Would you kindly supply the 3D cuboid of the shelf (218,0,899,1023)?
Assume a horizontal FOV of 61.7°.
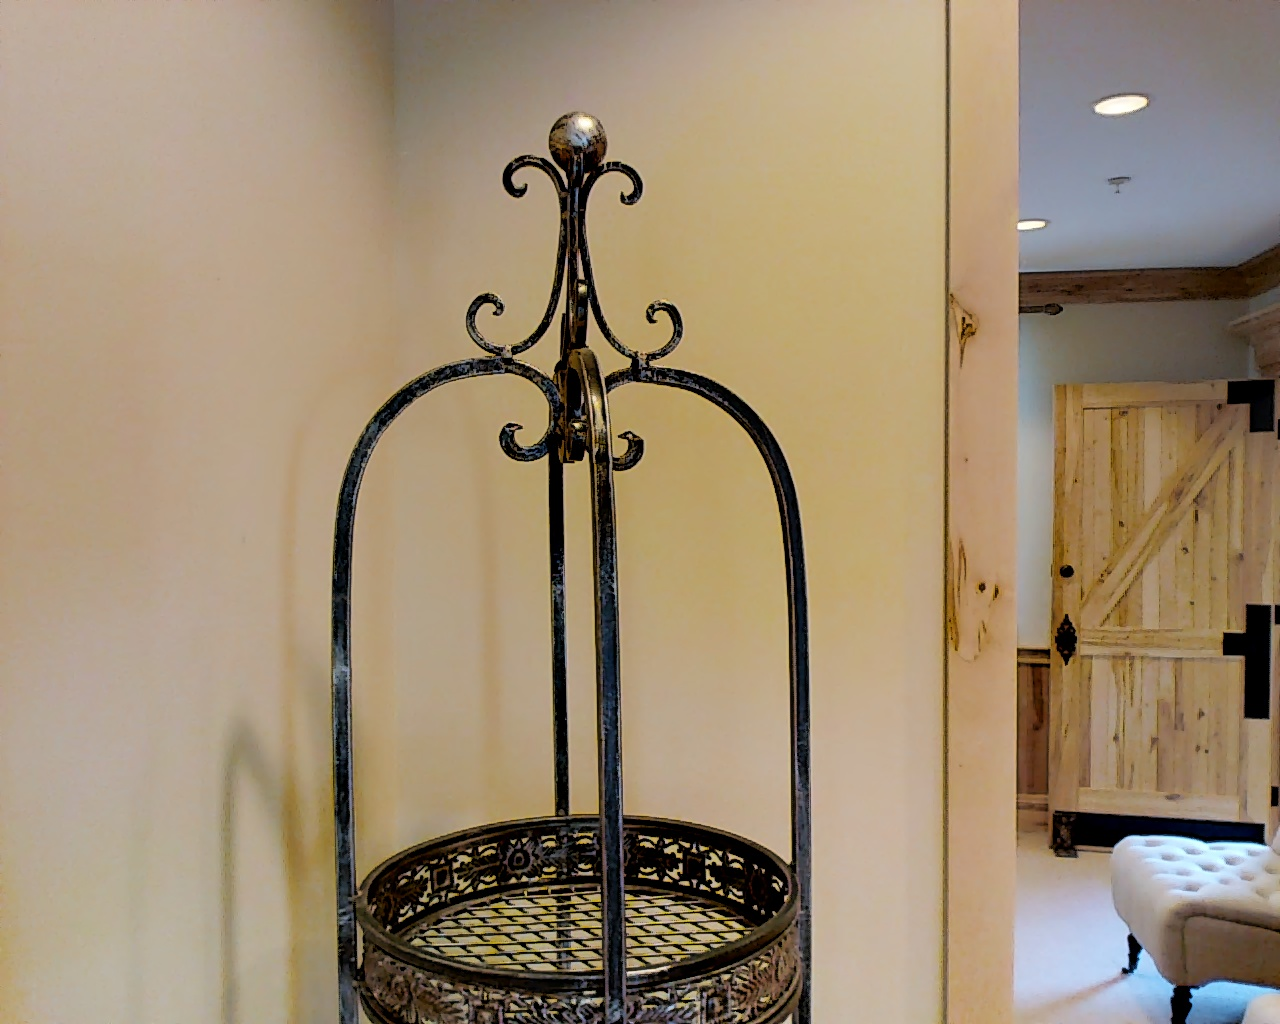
[{"bbox_3d":[-0.020,0.580,0.900,0.420,1.760,0.490,0,1,10],"label":"shelf"}]
